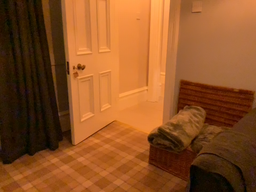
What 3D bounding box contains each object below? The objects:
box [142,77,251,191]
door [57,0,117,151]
[{"bbox_3d":[0.540,0.280,1.760,0.620,0.720,0.530,15,23,39],"label":"box"},{"bbox_3d":[-0.370,-0.500,2.230,0.080,2.010,0.800,10,20,28],"label":"door"}]
